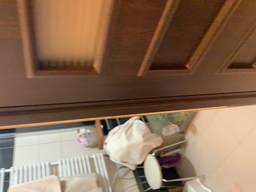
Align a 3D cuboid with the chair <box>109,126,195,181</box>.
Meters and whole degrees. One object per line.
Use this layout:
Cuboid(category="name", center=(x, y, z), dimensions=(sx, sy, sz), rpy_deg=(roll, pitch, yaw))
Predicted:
Cuboid(category="chair", center=(0.240, 0.620, 2.330), dimensions=(0.430, 0.770, 0.330), rpy_deg=(113, 147, -48))
